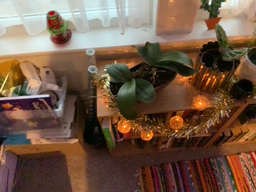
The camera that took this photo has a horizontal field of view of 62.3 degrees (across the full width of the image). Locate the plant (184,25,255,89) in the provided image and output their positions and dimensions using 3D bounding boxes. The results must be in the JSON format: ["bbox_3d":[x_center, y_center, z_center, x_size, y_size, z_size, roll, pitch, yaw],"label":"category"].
[{"bbox_3d":[0.360,-0.150,0.850,0.210,0.200,0.140,-4,59,0],"label":"plant"}]

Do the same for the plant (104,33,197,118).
[{"bbox_3d":[0.070,-0.080,0.830,0.300,0.170,0.260,-4,59,0],"label":"plant"}]

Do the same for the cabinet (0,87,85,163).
[{"bbox_3d":[-0.490,0.190,1.310,0.370,0.360,0.300,-8,59,-2],"label":"cabinet"}]
